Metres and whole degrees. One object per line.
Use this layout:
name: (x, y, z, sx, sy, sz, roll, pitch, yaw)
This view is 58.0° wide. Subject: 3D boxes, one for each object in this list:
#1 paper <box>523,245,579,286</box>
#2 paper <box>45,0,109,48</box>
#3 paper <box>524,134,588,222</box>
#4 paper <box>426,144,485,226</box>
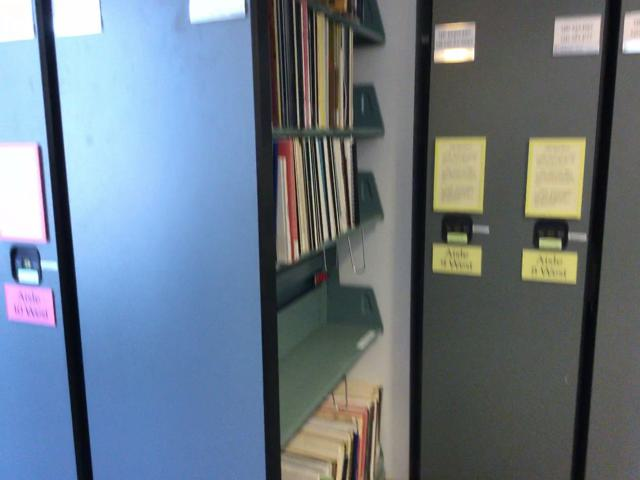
paper: (0.730, 0.080, 1.830, 0.160, 0.120, 0.040, -1, 7, 22)
paper: (-0.540, -0.500, 1.280, 0.140, 0.120, 0.030, -1, 7, 22)
paper: (0.730, -0.190, 1.790, 0.180, 0.260, 0.040, -1, 7, 22)
paper: (0.450, -0.180, 1.920, 0.180, 0.260, 0.040, -1, 7, 22)
